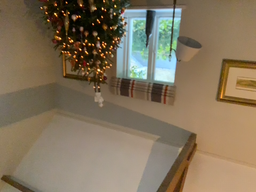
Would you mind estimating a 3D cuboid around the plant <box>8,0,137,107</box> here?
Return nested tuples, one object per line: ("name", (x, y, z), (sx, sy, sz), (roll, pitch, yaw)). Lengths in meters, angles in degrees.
("plant", (-0.630, -1.010, 2.570), (1.200, 1.930, 0.890), (10, -162, 23))
